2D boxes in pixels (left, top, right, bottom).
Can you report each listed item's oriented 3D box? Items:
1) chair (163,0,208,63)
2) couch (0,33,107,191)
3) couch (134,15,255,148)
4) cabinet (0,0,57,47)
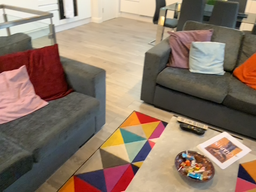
[{"bbox_3d":[0.980,-1.190,3.620,0.460,1.030,0.560,19,35,22],"label":"chair"},{"bbox_3d":[-1.010,0.230,1.470,0.960,0.780,1.670,19,36,22],"label":"couch"},{"bbox_3d":[1.080,-0.220,2.290,1.730,0.860,0.980,18,35,21],"label":"couch"},{"bbox_3d":[-2.190,-1.550,3.960,0.580,0.890,1.600,19,35,22],"label":"cabinet"}]
